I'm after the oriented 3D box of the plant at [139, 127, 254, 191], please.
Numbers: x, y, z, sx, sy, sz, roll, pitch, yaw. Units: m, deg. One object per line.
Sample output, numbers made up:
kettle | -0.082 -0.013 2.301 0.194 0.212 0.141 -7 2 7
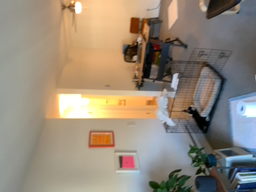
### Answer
plant | 0.700 0.760 2.480 0.740 1.020 0.410 -100 14 -57
